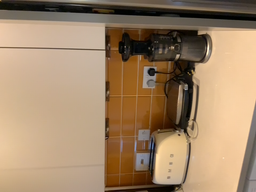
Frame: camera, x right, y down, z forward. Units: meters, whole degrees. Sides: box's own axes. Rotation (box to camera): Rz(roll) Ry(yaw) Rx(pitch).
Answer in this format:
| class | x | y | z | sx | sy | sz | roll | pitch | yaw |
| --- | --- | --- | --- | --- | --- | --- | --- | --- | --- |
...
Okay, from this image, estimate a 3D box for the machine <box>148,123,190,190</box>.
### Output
| class | x | y | z | sx | sy | sz | roll | pitch | yaw |
| --- | --- | --- | --- | --- | --- | --- | --- | --- | --- |
| machine | 0.260 | 0.390 | 1.400 | 0.210 | 0.180 | 0.360 | -116 | 28 | -71 |
